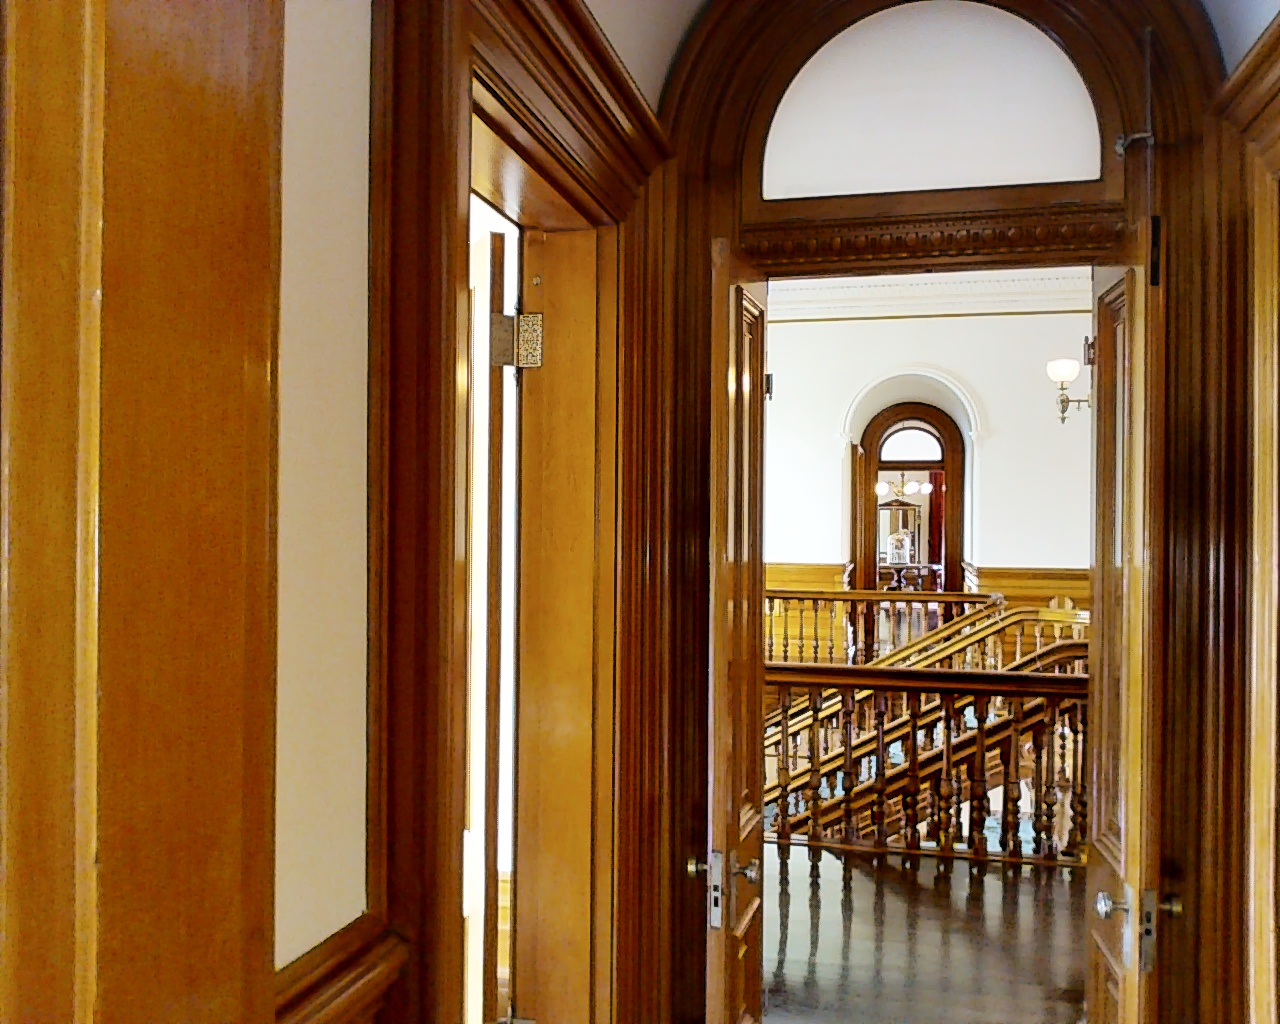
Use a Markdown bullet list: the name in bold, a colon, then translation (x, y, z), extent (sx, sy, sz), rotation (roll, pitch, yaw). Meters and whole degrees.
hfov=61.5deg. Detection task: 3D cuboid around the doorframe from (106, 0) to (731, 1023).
- **doorframe**: translation (-0.250, 0.230, 2.150), extent (0.560, 2.550, 1.560), rotation (1, 0, 15)
